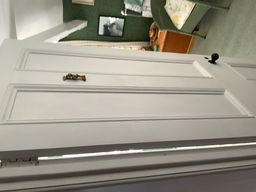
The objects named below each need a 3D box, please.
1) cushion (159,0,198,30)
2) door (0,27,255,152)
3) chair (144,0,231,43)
[{"bbox_3d":[0.570,-1.090,2.480,0.410,0.180,0.440,114,151,-53],"label":"cushion"},{"bbox_3d":[0.300,-0.100,1.180,0.770,2.180,0.100,-110,26,-49],"label":"door"},{"bbox_3d":[0.650,-1.130,2.550,0.630,0.630,0.660,118,148,-57],"label":"chair"}]
